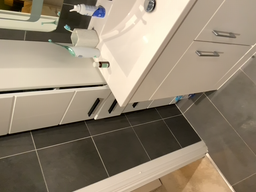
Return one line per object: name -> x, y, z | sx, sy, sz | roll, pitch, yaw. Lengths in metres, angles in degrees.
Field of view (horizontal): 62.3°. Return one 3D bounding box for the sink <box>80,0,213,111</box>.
sink -> 0.050, -0.360, 0.850 | 0.450, 0.120, 0.770 | 58, 136, 27
